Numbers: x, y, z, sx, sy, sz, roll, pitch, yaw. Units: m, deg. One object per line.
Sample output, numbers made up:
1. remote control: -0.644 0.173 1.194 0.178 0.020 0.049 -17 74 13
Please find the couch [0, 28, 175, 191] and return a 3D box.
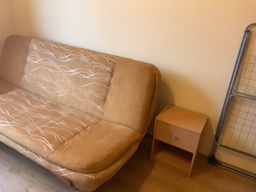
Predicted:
1. couch: -0.780 -0.010 2.110 2.090 0.900 1.060 18 30 25
